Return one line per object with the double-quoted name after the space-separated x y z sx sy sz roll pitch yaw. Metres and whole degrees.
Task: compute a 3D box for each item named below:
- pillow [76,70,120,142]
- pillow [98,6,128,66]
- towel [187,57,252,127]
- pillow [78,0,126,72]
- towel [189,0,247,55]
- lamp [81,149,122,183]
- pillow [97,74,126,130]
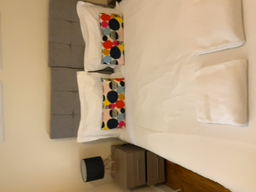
-0.340 0.110 2.400 0.170 0.470 0.780 -165 76 -78 "pillow"
-0.170 -0.650 2.340 0.140 0.300 0.600 -172 83 -81 "pillow"
0.500 -0.020 1.210 0.360 0.090 0.340 0 91 63 "towel"
-0.300 -0.680 2.430 0.200 0.510 0.770 176 95 -80 "pillow"
0.490 -0.450 1.190 0.320 0.080 0.390 8 98 63 "towel"
-0.310 0.790 2.440 0.260 0.400 0.240 3 94 63 "lamp"
-0.180 0.070 2.340 0.140 0.300 0.590 118 153 -80 "pillow"
